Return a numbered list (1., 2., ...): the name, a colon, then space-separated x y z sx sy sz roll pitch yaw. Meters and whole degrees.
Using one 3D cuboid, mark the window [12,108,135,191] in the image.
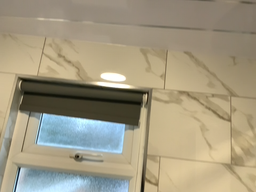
1. window: -0.290 0.560 0.990 0.550 0.970 0.020 6 -14 4
